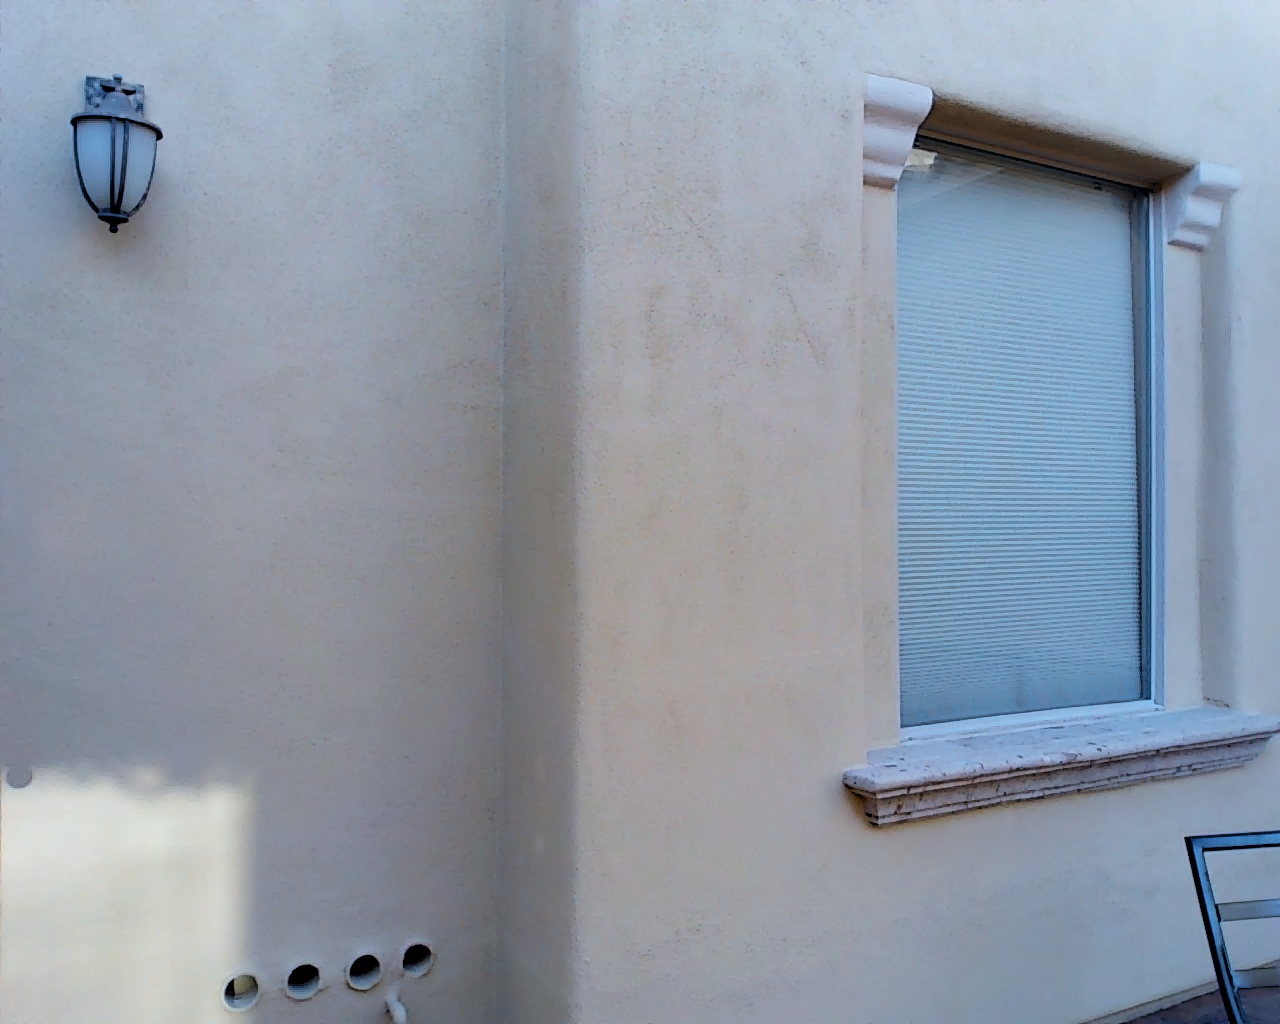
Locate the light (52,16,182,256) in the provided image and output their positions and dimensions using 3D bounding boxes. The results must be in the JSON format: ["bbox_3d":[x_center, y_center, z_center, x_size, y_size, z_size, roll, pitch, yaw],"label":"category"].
[{"bbox_3d":[-1.110,-0.780,2.260,0.230,0.400,0.210,1,-1,-29],"label":"light"}]
